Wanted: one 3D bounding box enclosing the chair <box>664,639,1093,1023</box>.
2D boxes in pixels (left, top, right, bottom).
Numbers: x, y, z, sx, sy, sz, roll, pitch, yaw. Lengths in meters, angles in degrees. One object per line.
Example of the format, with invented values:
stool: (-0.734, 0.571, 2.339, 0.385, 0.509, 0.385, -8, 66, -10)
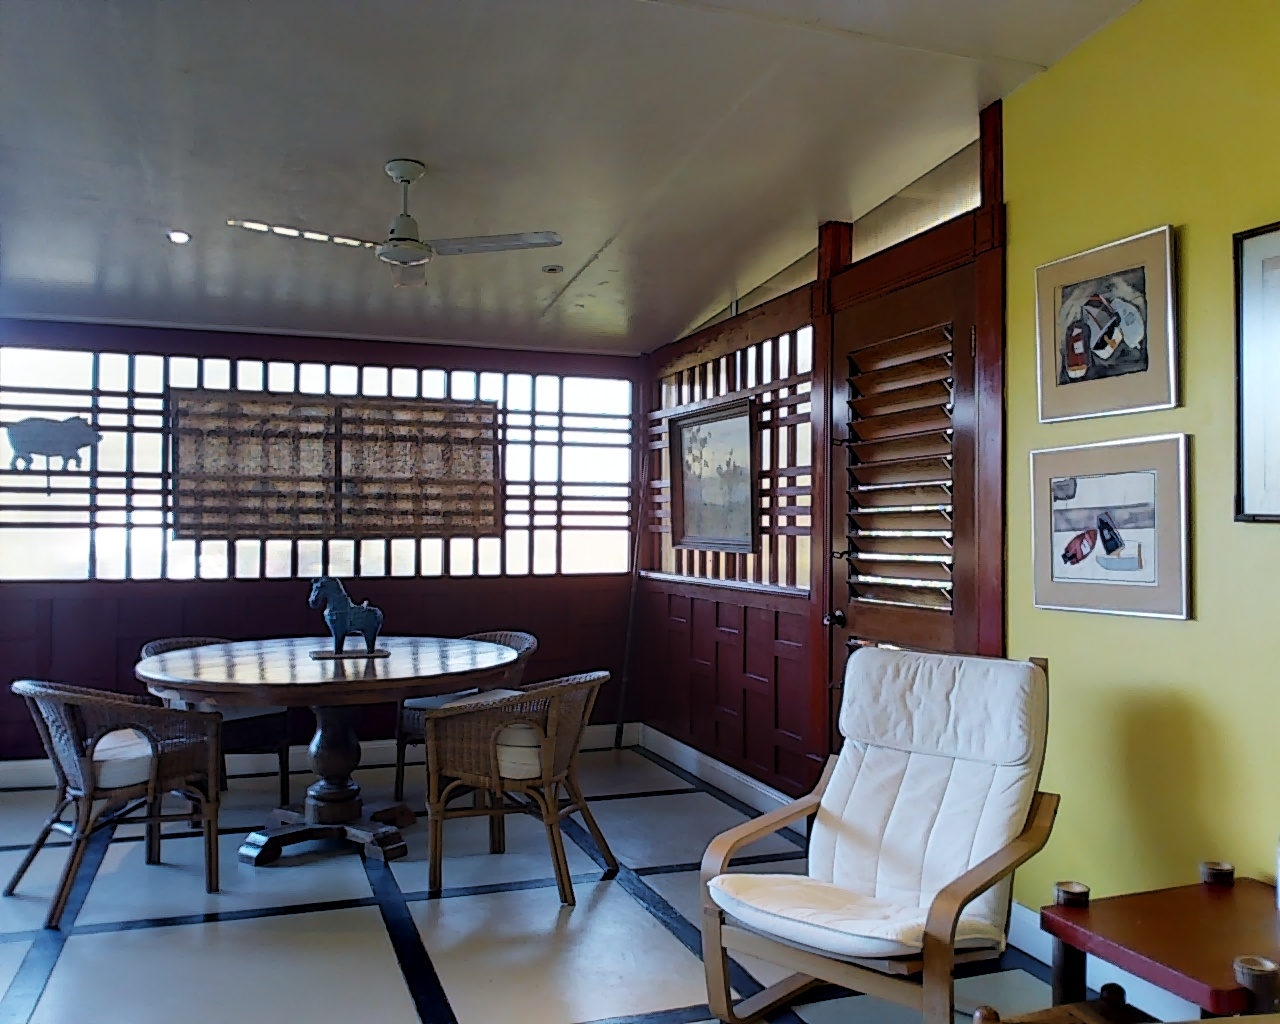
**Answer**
chair: (0.630, 0.860, 2.780, 0.750, 0.950, 0.860, -1, -2, 42)
